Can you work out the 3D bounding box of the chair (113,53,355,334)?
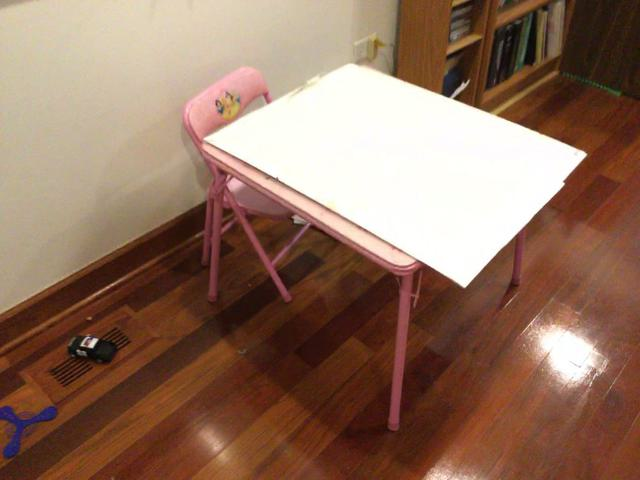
[{"bbox_3d":[-0.200,-0.140,1.600,0.380,0.540,0.440,29,51,34],"label":"chair"}]
